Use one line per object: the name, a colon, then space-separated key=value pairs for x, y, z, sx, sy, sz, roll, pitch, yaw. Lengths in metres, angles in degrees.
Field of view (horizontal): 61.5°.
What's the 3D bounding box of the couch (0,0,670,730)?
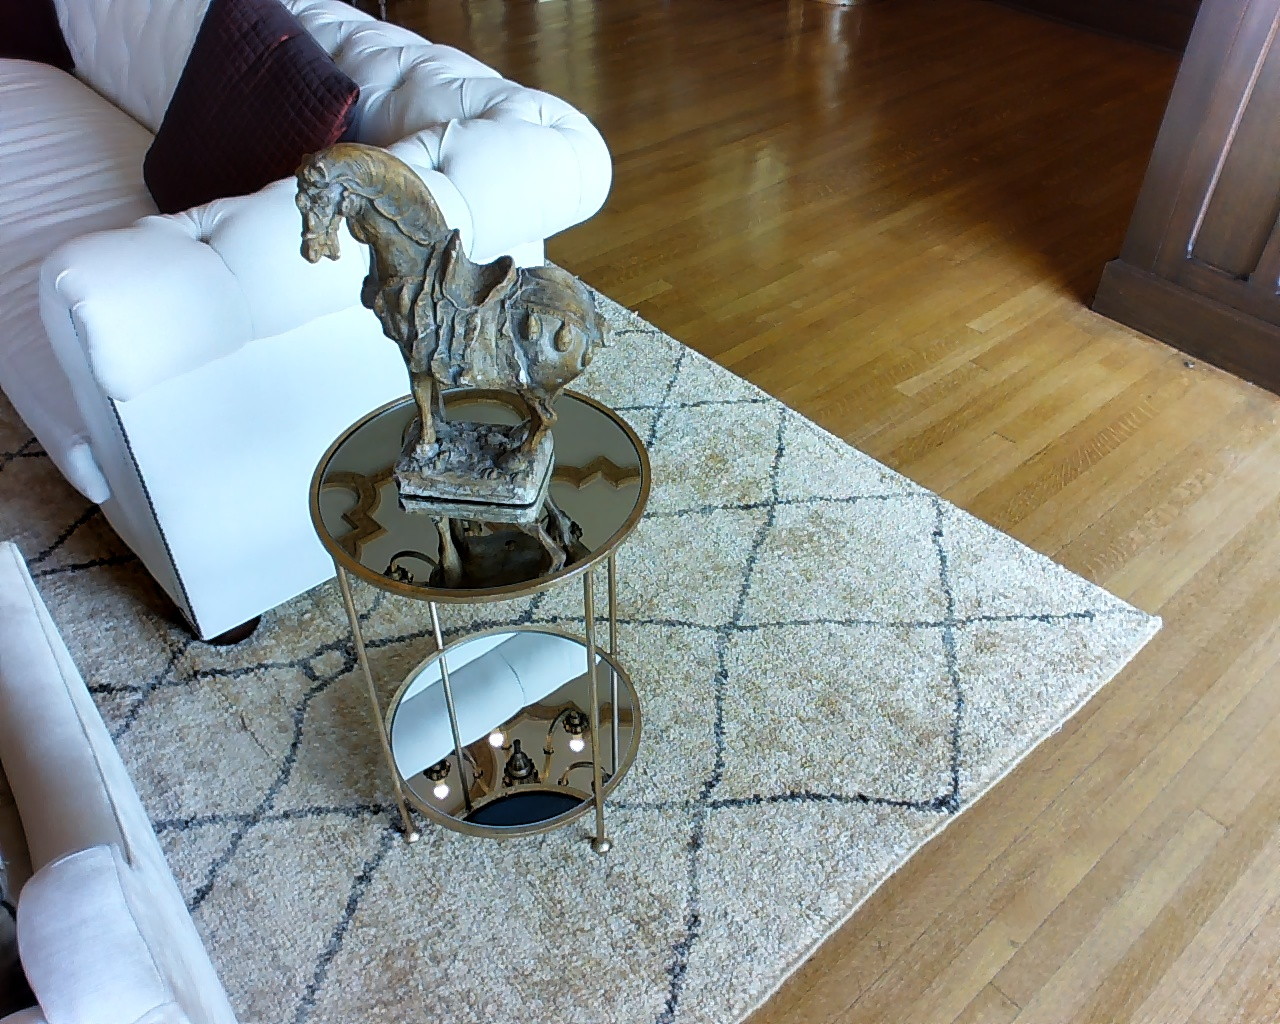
couch: x=-1.300 y=-0.890 z=2.670 sx=1.110 sy=0.880 sz=2.810 roll=-31 pitch=50 yaw=-30
